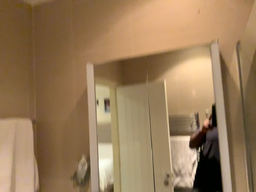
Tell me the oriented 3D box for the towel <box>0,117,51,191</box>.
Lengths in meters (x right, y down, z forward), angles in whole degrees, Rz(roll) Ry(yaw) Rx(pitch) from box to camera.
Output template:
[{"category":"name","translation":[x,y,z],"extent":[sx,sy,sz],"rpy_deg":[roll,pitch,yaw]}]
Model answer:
[{"category":"towel","translation":[-0.630,0.360,1.090],"extent":[0.110,0.470,0.490],"rpy_deg":[-5,-4,24]}]
